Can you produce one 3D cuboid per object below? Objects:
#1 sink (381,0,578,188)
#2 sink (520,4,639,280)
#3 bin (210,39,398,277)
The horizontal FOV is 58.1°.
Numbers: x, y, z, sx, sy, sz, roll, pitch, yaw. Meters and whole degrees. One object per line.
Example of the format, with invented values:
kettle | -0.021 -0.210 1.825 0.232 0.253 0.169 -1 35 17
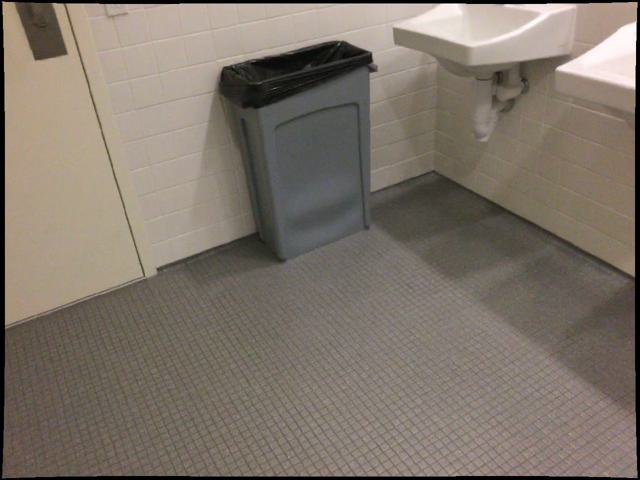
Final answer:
sink | 0.569 -0.612 2.170 0.449 0.581 0.500 -21 35 -23
sink | 0.958 -0.281 1.610 0.449 0.591 0.540 -21 35 -23
bin | -0.030 -0.341 2.360 0.639 0.771 0.280 -21 35 -23
